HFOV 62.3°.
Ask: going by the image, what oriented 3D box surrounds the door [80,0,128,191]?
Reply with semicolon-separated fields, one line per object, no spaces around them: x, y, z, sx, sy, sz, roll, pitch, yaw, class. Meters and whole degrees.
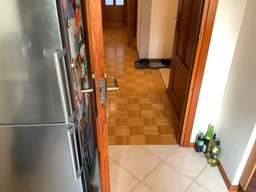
-0.170;-0.180;1.250;0.120;2.010;0.890;-6;31;-12;door
